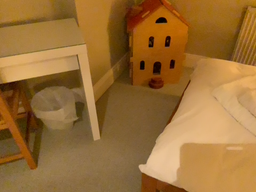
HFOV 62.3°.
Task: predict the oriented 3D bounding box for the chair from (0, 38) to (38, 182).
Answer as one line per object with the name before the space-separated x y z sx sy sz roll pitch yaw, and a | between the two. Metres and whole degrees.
chair | -0.850 0.050 1.180 0.410 0.940 0.410 -13 41 -15
